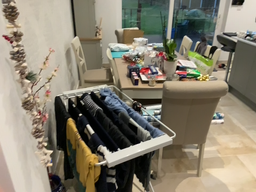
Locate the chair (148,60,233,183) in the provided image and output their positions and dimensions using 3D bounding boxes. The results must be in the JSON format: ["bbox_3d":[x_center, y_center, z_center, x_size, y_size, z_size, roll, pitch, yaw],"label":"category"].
[{"bbox_3d":[0.460,0.210,1.860,0.450,0.930,0.530,-1,26,-3],"label":"chair"}]

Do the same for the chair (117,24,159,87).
[{"bbox_3d":[0.150,-0.730,3.750,0.450,0.940,0.600,-13,29,-26],"label":"chair"}]

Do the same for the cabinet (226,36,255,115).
[{"bbox_3d":[1.930,-0.330,3.080,0.440,0.910,0.770,-3,27,-7],"label":"cabinet"}]

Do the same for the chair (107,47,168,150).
[{"bbox_3d":[0.070,0.020,2.220,0.480,0.950,0.390,-7,27,-15],"label":"chair"}]

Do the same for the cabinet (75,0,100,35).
[{"bbox_3d":[-0.680,-1.650,3.610,0.350,1.010,0.960,-2,26,-7],"label":"cabinet"}]

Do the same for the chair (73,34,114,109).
[{"bbox_3d":[-0.450,-0.340,2.940,0.480,0.950,0.400,-2,26,-6],"label":"chair"}]
